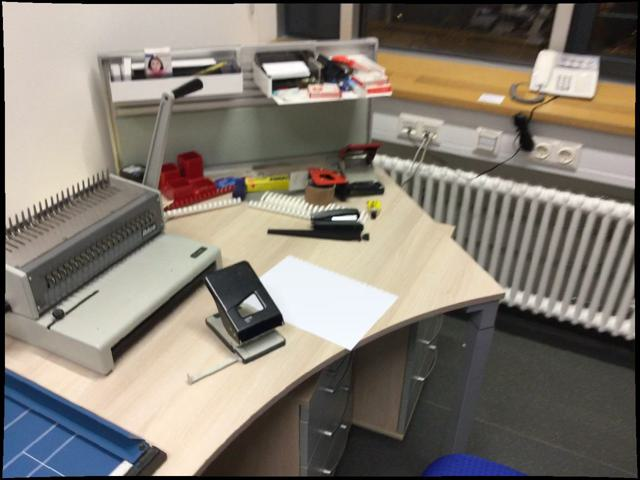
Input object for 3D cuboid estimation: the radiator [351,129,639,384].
[{"bbox_3d":[0.779,0.060,2.130,1.299,0.670,0.250,15,35,20],"label":"radiator"}]
